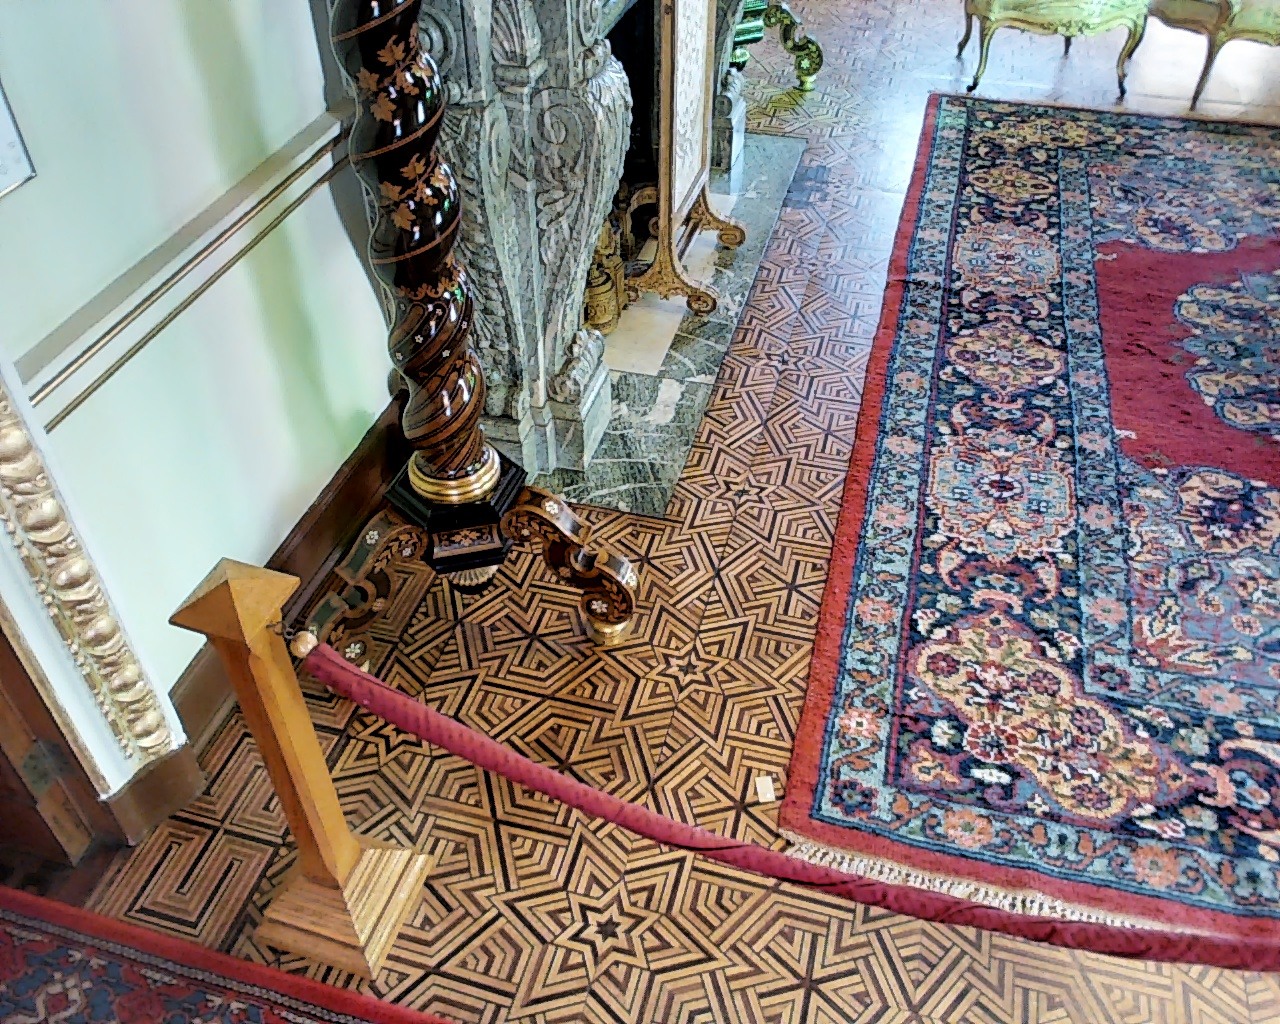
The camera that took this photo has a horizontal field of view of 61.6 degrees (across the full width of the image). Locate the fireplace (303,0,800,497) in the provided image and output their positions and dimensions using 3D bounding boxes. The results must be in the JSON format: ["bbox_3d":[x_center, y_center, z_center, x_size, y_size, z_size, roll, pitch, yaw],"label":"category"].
[{"bbox_3d":[-0.020,-1.340,3.140,0.590,1.320,2.360,11,43,13],"label":"fireplace"}]
